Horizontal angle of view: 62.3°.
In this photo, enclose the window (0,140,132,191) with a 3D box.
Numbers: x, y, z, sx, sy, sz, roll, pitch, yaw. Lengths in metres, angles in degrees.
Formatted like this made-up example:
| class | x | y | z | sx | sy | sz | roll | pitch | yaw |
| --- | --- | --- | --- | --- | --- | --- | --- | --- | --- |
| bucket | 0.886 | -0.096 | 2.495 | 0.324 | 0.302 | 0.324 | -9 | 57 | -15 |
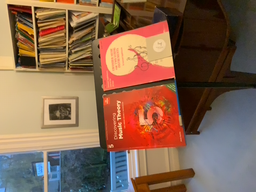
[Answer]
| class | x | y | z | sx | sy | sz | roll | pitch | yaw |
| --- | --- | --- | --- | --- | --- | --- | --- | --- | --- |
| window | -0.750 | 0.950 | 2.630 | 0.180 | 1.600 | 0.650 | 161 | 106 | -70 |
